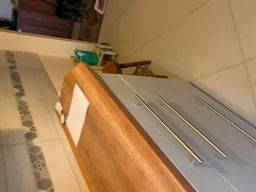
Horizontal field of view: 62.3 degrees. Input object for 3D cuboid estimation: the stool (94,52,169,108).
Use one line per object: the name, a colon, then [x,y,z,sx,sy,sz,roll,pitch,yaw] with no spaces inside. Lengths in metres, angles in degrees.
stool: [0.020,-0.130,1.830,0.320,0.470,0.330,53,130,40]

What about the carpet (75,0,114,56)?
carpet: [-0.480,-1.200,3.000,0.740,0.120,1.030,47,126,44]
